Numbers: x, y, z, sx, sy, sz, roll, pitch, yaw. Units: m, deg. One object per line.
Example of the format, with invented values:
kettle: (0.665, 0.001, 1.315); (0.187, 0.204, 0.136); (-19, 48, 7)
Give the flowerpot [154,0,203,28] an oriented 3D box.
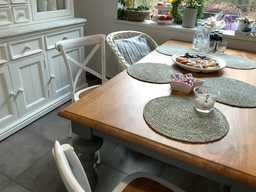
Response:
flowerpot: (0.580, -1.030, 2.410); (0.460, 0.400, 0.260); (15, 30, 20)
